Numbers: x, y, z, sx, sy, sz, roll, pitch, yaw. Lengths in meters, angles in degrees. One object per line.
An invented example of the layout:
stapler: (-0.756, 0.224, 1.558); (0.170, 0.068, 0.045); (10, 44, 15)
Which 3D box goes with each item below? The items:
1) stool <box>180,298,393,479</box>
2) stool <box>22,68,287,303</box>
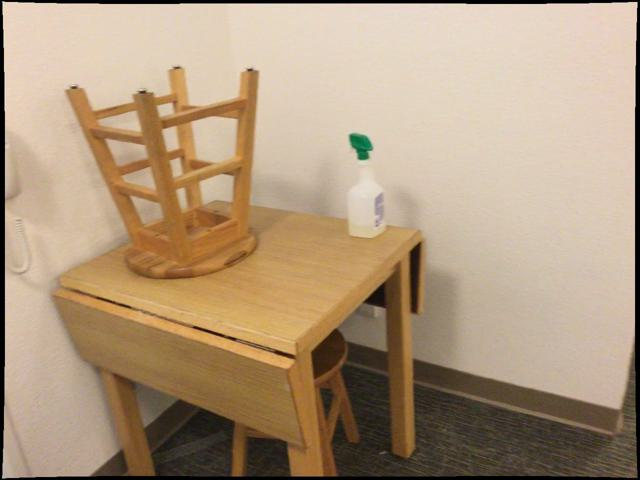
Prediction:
stool: (-0.070, 0.531, 1.760); (0.419, 0.471, 0.460); (9, 29, 29)
stool: (-0.419, -0.180, 1.570); (0.469, 0.491, 0.390); (9, 29, 29)
